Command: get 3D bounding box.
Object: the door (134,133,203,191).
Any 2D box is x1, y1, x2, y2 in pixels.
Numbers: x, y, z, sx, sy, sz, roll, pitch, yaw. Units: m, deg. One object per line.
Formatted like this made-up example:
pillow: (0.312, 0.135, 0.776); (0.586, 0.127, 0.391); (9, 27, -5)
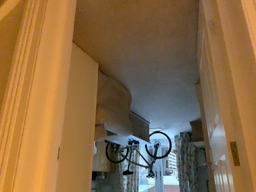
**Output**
door: (0.960, 2.240, 5.350); (1.740, 2.410, 0.080); (-13, 156, 29)
